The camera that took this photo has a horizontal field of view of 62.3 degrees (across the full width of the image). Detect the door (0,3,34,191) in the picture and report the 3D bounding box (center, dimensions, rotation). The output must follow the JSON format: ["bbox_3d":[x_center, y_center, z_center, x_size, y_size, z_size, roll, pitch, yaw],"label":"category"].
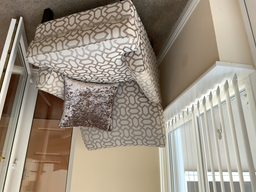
[{"bbox_3d":[-0.980,0.440,1.590,0.080,2.080,0.890,7,157,-15],"label":"door"}]
